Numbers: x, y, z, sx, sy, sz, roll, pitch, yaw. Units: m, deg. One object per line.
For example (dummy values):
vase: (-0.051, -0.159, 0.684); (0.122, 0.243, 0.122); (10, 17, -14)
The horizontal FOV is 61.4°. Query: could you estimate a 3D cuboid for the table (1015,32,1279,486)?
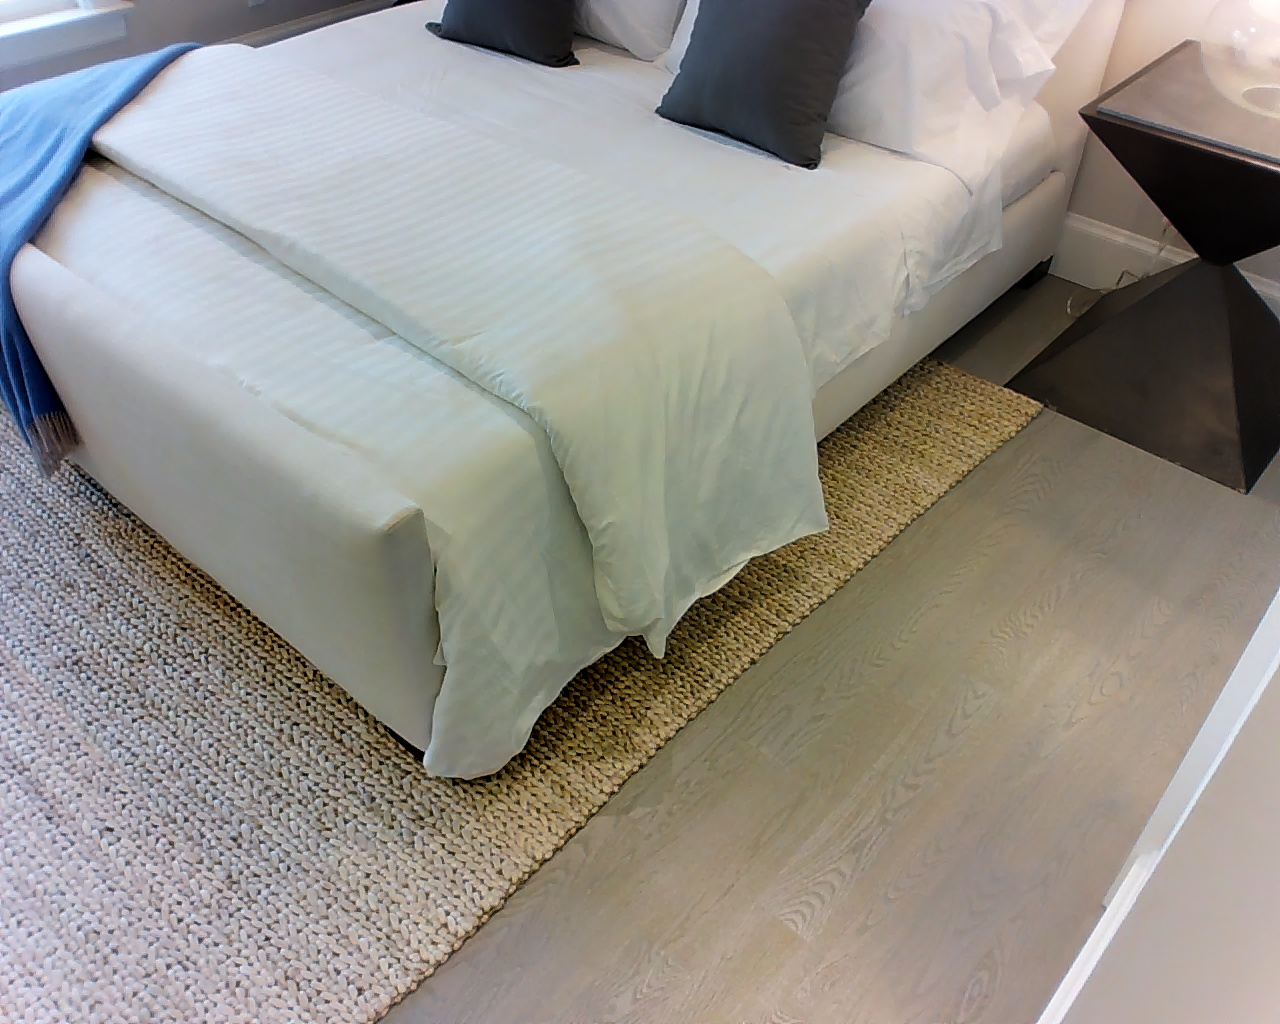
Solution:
table: (1.350, -0.600, 2.500); (0.540, 0.730, 0.600); (32, 50, 31)
